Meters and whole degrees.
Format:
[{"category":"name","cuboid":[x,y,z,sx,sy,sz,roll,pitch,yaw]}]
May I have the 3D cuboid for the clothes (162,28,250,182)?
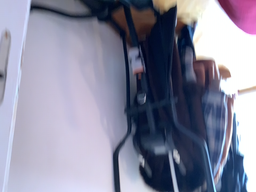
[{"category":"clothes","cuboid":[0.630,0.070,1.840,0.450,1.220,0.270,-17,156,30]}]
